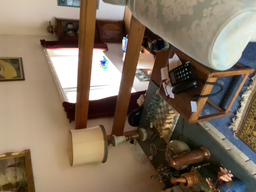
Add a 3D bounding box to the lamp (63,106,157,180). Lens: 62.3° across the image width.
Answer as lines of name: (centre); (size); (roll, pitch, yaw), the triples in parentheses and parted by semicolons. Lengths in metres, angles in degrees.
lamp: (-0.210, 0.450, 2.220); (0.430, 0.830, 0.420); (54, 141, 43)
